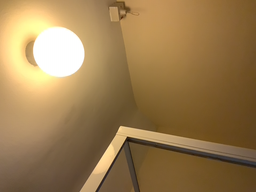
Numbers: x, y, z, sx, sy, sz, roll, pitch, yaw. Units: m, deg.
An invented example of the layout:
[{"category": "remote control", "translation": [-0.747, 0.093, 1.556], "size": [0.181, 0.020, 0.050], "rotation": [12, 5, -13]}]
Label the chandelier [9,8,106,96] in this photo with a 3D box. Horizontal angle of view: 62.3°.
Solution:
[{"category": "chandelier", "translation": [-0.250, -0.160, 0.810], "size": [0.200, 0.200, 0.240], "rotation": [53, 48, -56]}]
